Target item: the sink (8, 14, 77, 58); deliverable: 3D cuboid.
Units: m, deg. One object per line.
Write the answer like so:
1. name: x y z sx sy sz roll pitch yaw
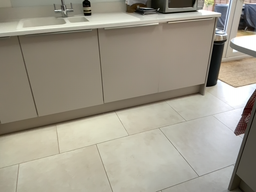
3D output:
1. sink: -0.750 -0.560 1.890 0.470 0.230 0.530 -10 30 -18
